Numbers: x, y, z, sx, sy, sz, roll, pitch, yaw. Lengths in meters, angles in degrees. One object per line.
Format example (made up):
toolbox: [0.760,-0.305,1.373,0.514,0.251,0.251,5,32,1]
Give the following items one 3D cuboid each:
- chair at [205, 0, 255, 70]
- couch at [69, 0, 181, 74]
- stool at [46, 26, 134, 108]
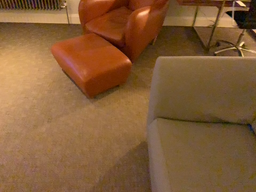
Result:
chair: [1.390,-0.810,2.490,0.560,0.790,0.590,-2,43,-5]
couch: [0.000,-1.000,2.640,0.850,0.770,1.080,28,48,25]
stool: [-0.390,-0.340,2.180,0.550,0.380,0.740,-26,50,-28]
